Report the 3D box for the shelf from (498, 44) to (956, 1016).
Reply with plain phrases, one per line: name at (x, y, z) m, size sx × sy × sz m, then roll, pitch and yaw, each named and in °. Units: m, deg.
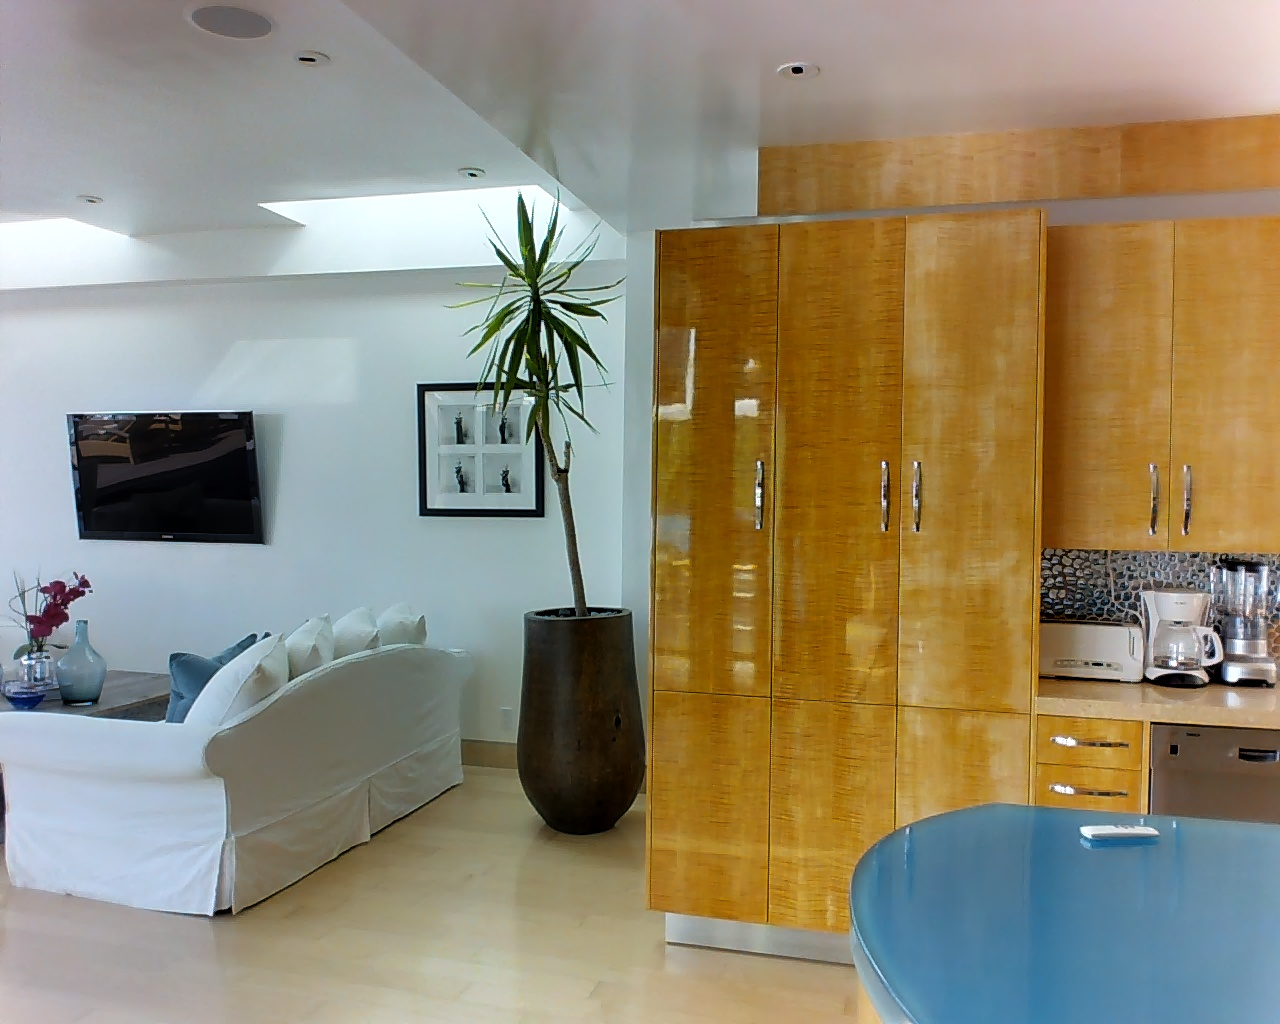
shelf at (0.550, 0.040, 4.580) m, size 1.459 × 2.961 × 2.300 m, roll 1°, pitch 1°, yaw 16°
